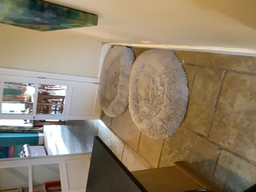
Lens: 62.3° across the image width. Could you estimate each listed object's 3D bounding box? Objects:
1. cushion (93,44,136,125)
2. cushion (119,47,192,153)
[{"bbox_3d":[-0.240,-0.210,3.120,0.820,0.090,1.050,27,109,57],"label":"cushion"},{"bbox_3d":[0.230,-0.030,2.350,0.920,0.070,0.960,28,110,56],"label":"cushion"}]
